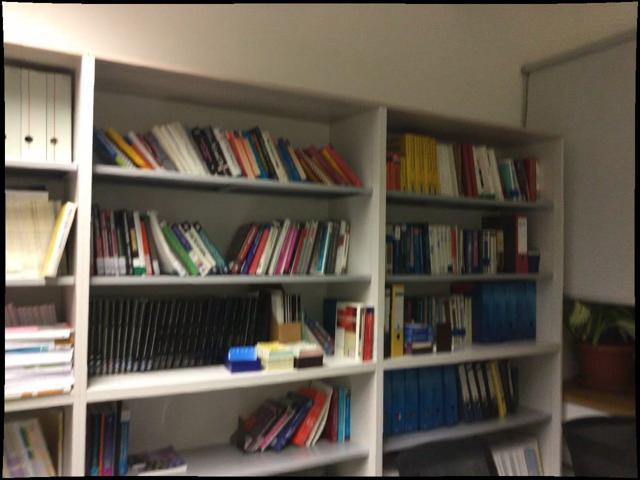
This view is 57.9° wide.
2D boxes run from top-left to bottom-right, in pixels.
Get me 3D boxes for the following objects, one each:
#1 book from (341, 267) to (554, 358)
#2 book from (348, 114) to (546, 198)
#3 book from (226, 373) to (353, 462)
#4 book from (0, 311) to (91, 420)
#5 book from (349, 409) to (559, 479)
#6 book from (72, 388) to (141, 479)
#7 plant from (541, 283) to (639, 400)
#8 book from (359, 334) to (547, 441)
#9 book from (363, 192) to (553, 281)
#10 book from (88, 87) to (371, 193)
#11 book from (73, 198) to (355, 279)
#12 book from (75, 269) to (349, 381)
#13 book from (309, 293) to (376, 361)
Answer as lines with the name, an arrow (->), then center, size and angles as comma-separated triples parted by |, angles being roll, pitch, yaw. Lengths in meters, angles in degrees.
book -> 0.659, 0.330, 2.900 | 1.069, 0.340, 0.380 | 0, 1, -30
book -> 0.669, -0.400, 2.940 | 1.049, 0.320, 0.310 | 0, 1, -30
book -> -0.130, 0.751, 2.500 | 0.490, 0.240, 0.250 | 0, 1, -30
book -> -0.959, 0.390, 1.830 | 0.410, 0.280, 0.220 | 0, 1, -30
book -> 0.679, 1.151, 2.890 | 0.999, 0.350, 0.430 | 0, 1, -30
book -> -0.799, 0.721, 2.160 | 0.210, 0.260, 0.190 | 0, 1, -30
plant -> 1.498, 0.501, 3.030 | 0.490, 0.501, 0.420 | 0, 1, -30
book -> 0.689, 0.701, 2.880 | 1.039, 0.340, 0.230 | 0, 1, -30
book -> 0.719, -0.020, 2.940 | 0.979, 0.390, 0.330 | 0, 1, -30
book -> -0.350, -0.370, 2.380 | 1.079, 0.290, 0.400 | 0, 1, -30
book -> -0.400, -0.010, 2.400 | 1.129, 0.280, 0.260 | 0, 1, -30
book -> -0.410, 0.310, 2.360 | 1.059, 0.330, 0.300 | 0, 1, -30
book -> 0.090, 0.370, 2.540 | 0.100, 0.240, 0.390 | 0, 1, -30
